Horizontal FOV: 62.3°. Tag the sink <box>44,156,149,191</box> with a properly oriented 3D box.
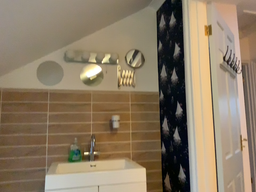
[{"bbox_3d":[-0.230,0.510,1.470,0.610,0.080,0.470,1,-7,-16],"label":"sink"}]
